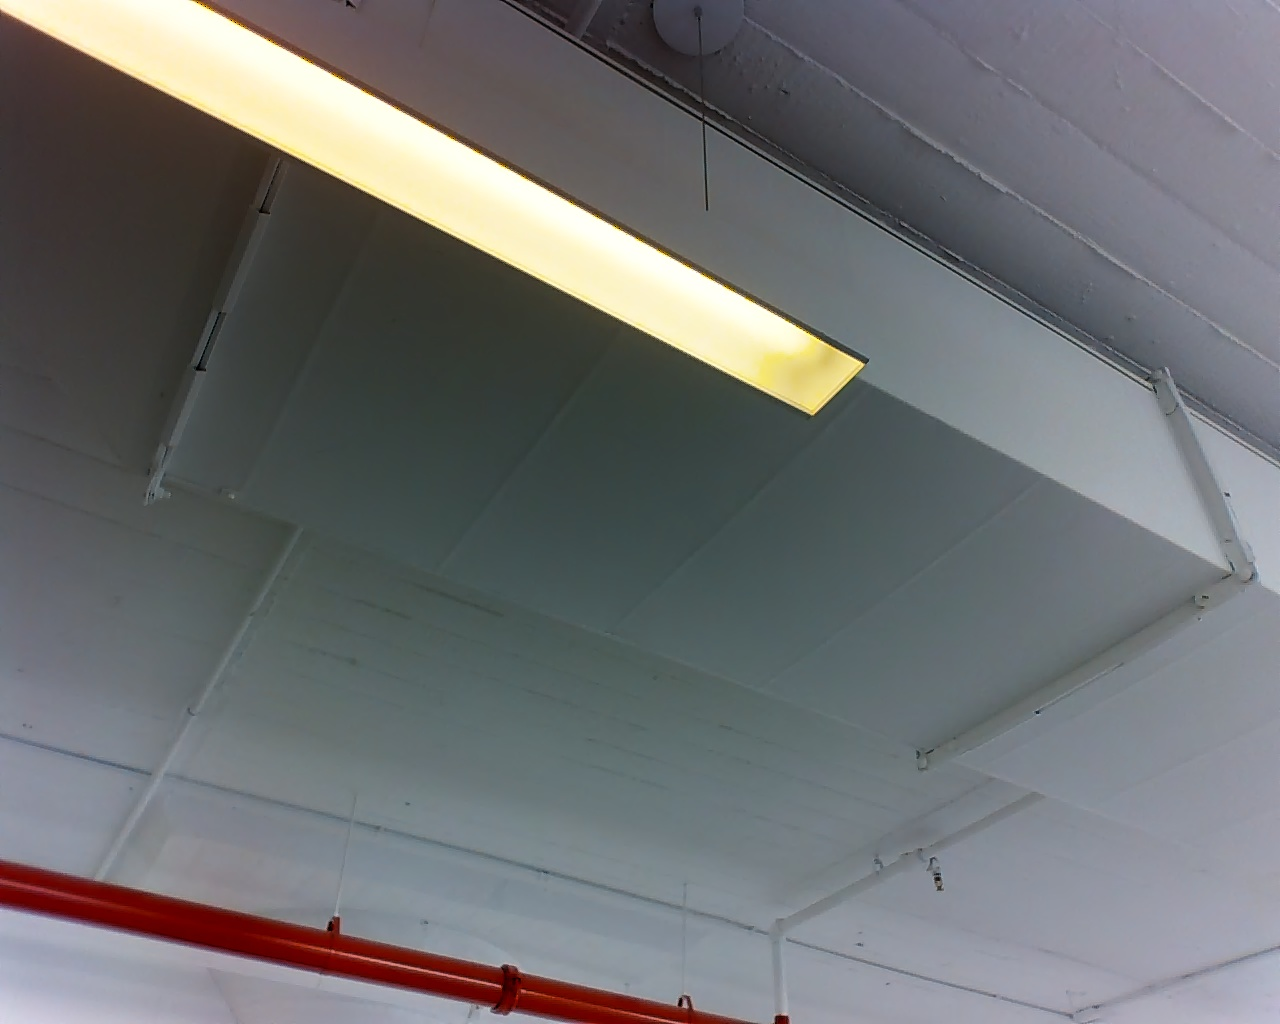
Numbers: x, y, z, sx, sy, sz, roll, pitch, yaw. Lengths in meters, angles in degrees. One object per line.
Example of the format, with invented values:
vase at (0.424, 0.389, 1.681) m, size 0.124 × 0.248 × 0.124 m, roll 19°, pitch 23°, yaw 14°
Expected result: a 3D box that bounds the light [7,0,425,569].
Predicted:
light at (-0.330, -0.390, 0.950) m, size 0.180 × 0.200 × 1.250 m, roll 23°, pitch -47°, yaw -22°
